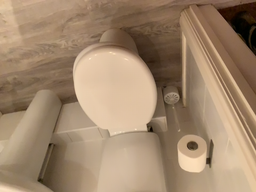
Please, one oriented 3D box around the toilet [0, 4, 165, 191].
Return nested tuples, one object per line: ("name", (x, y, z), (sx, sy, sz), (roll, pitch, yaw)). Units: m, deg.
("toilet", (-0.090, 0.080, 1.000), (0.390, 0.760, 0.670), (-10, 131, 9))
